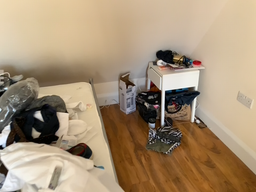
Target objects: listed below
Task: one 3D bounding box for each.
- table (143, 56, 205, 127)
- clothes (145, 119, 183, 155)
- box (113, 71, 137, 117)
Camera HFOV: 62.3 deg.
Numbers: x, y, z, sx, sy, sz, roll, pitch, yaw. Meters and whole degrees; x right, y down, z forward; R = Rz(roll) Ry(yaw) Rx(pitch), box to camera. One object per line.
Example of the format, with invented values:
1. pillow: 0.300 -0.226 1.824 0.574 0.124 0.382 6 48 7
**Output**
1. table: 0.440 -0.060 2.200 0.430 0.560 0.410 -10 31 -16
2. clothes: 0.330 0.360 1.950 0.310 0.060 0.390 5 30 9
3. box: -0.040 -0.030 2.350 0.200 0.390 0.310 -7 30 -11
